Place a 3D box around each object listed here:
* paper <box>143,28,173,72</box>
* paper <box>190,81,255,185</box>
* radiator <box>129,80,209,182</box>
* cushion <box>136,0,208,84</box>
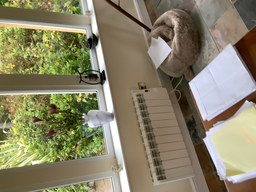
[{"bbox_3d":[0.340,-0.540,2.530,0.380,0.100,0.330,123,138,-51],"label":"paper"},{"bbox_3d":[0.490,0.180,0.920,0.410,0.110,0.320,127,135,-54],"label":"paper"},{"bbox_3d":[0.410,0.310,2.250,0.150,0.570,1.030,128,135,-54],"label":"radiator"},{"bbox_3d":[0.450,-0.680,2.480,0.650,0.280,0.850,126,136,-53],"label":"cushion"}]
